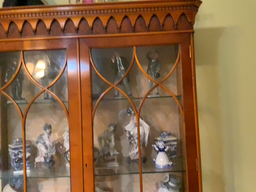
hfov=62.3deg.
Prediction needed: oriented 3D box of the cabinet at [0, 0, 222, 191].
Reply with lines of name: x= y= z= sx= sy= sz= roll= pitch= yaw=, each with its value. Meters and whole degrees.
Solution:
cabinet: x=-0.160 y=0.620 z=0.950 sx=1.010 sy=1.960 sz=0.410 roll=-3 pitch=-1 yaw=0
